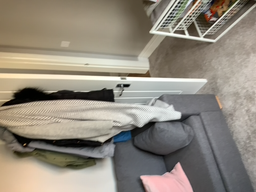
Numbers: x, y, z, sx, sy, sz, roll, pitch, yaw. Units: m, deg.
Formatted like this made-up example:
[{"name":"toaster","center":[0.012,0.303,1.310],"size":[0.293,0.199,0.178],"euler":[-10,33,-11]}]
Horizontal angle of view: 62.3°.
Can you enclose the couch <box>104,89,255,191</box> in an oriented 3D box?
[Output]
[{"name":"couch","center":[0.450,0.860,1.750],"size":[0.890,0.790,1.610],"euler":[-47,50,54]}]

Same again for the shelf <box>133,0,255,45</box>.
[{"name":"shelf","center":[0.520,-0.830,1.730],"size":[0.560,0.760,0.500],"euler":[-46,51,55]}]

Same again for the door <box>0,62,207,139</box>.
[{"name":"door","center":[-0.340,0.070,1.830],"size":[0.780,2.060,0.130],"euler":[-59,40,47]}]
